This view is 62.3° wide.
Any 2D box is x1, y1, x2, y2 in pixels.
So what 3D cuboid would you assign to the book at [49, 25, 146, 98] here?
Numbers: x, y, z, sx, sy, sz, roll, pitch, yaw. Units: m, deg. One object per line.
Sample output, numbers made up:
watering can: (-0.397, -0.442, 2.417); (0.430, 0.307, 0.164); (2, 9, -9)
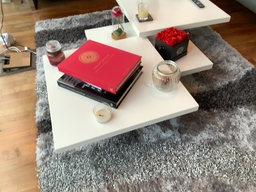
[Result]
book: (-0.150, -0.200, 1.130); (0.400, 0.150, 0.280); (22, 51, 20)
